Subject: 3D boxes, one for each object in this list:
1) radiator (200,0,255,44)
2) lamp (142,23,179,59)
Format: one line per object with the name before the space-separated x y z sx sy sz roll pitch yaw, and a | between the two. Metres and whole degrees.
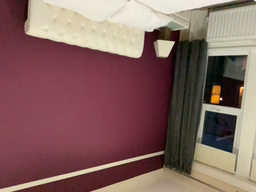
radiator | 1.680 -1.000 2.780 0.110 0.510 1.480 2 -175 -44
lamp | 0.470 -0.780 3.070 0.350 0.420 0.340 1 -175 -44
